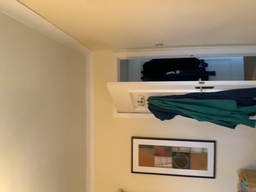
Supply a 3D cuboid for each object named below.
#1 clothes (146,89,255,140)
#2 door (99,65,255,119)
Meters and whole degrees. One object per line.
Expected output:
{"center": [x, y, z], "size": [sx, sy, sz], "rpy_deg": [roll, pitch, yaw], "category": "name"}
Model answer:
{"center": [0.890, 0.230, 2.460], "size": [0.680, 1.320, 0.290], "rpy_deg": [78, -165, -58], "category": "clothes"}
{"center": [0.780, -0.010, 2.510], "size": [0.920, 2.070, 0.180], "rpy_deg": [76, -163, -61], "category": "door"}
